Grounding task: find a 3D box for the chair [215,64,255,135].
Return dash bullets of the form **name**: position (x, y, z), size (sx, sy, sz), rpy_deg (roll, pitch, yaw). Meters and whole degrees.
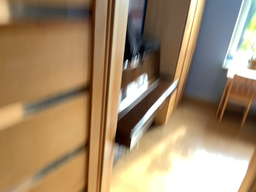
- **chair**: position (1.730, 0.030, 3.330), size (0.410, 0.890, 0.570), rpy_deg (17, 27, 20)
